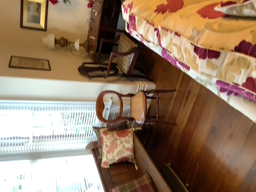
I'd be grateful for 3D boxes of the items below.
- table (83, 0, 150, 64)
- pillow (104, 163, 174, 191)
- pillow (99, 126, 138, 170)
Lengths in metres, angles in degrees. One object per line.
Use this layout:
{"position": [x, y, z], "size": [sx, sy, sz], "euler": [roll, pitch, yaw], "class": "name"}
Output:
{"position": [-0.230, -1.060, 3.330], "size": [0.690, 0.730, 0.850], "euler": [-126, 44, -53], "class": "table"}
{"position": [0.110, 0.920, 2.000], "size": [0.440, 0.480, 0.190], "euler": [38, 123, 40], "class": "pillow"}
{"position": [-0.100, 0.580, 2.430], "size": [0.150, 0.390, 0.380], "euler": [-10, 91, 46], "class": "pillow"}
